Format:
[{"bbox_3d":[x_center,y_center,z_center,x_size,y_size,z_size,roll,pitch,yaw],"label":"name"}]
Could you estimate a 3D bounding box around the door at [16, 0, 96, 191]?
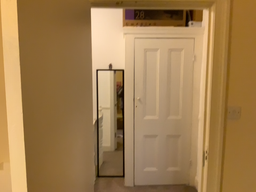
[{"bbox_3d":[-0.270,0.470,1.080,0.060,2.050,0.820,1,7,2],"label":"door"}]
